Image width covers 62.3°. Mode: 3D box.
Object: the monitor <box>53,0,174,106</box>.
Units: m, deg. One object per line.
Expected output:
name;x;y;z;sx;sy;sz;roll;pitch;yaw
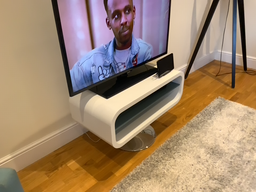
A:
monitor;0.010;-0.380;1.340;0.020;0.590;0.940;24;39;37
